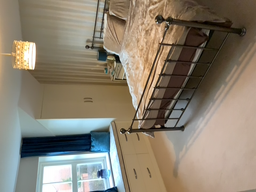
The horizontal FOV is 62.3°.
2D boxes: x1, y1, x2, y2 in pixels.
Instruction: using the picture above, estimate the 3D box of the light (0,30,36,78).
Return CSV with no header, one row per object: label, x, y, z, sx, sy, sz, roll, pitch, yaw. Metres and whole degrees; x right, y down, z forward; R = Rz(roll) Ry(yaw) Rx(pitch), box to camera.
light,-1.180,-0.420,2.100,0.450,0.320,0.300,3,43,-17
